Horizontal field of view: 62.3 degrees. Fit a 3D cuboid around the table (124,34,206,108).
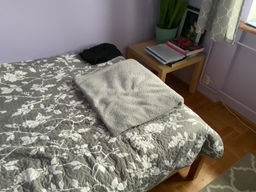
[{"bbox_3d":[0.360,-0.300,2.280,0.570,0.460,0.580,-20,44,-27],"label":"table"}]
